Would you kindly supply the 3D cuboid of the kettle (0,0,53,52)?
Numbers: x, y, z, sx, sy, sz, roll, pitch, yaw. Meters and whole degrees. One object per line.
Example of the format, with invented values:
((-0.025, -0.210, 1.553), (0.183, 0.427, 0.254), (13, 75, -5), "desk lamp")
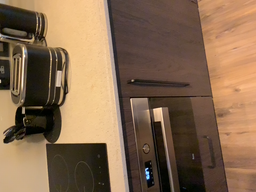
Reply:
((-0.550, -0.370, 1.110), (0.160, 0.240, 0.200), (-13, 81, 45), "kettle")
